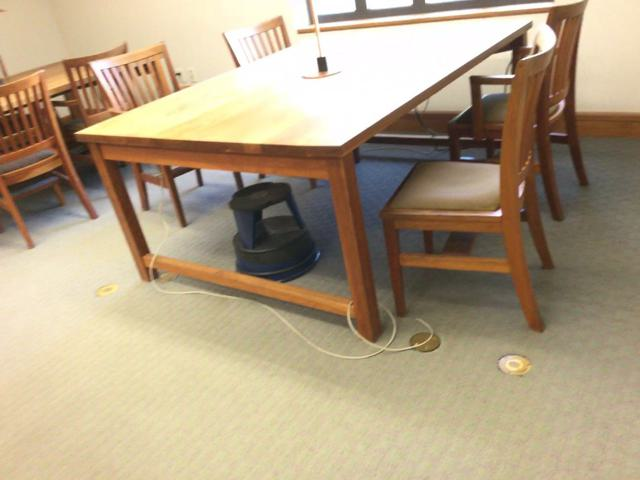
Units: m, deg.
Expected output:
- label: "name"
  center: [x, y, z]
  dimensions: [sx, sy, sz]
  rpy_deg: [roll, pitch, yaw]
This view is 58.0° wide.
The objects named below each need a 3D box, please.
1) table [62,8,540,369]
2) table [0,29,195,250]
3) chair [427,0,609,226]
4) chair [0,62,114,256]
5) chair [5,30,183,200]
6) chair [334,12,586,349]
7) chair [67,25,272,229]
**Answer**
- label: "table"
  center: [0.080, -0.420, 2.750]
  dimensions: [1.390, 0.950, 1.730]
  rpy_deg: [7, 28, 35]
- label: "table"
  center: [-2.170, -0.740, 4.040]
  dimensions: [1.490, 1.020, 1.840]
  rpy_deg: [7, 28, 35]
- label: "chair"
  center: [0.900, -0.600, 2.610]
  dimensions: [0.600, 0.900, 0.530]
  rpy_deg: [7, 24, 35]
- label: "chair"
  center: [-1.800, -0.490, 3.400]
  dimensions: [0.690, 0.930, 0.590]
  rpy_deg: [7, 28, 35]
- label: "chair"
  center: [-1.520, -0.860, 3.970]
  dimensions: [0.670, 0.960, 0.640]
  rpy_deg: [7, 28, 35]
- label: "chair"
  center: [0.540, -0.240, 2.070]
  dimensions: [0.610, 0.950, 0.620]
  rpy_deg: [7, 28, 35]
- label: "chair"
  center: [-0.820, -0.660, 3.330]
  dimensions: [0.630, 0.950, 0.700]
  rpy_deg: [7, 28, 35]
